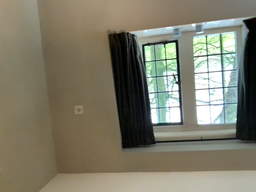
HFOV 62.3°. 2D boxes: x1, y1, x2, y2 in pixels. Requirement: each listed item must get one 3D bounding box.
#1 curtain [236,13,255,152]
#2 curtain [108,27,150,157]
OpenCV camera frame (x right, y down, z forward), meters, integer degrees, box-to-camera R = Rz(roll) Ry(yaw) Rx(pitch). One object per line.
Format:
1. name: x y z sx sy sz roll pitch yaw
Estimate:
1. curtain: 1.170 -0.110 1.870 0.300 1.170 0.170 -4 -174 6
2. curtain: 0.020 -0.020 1.960 0.280 1.160 0.100 -4 -174 6
